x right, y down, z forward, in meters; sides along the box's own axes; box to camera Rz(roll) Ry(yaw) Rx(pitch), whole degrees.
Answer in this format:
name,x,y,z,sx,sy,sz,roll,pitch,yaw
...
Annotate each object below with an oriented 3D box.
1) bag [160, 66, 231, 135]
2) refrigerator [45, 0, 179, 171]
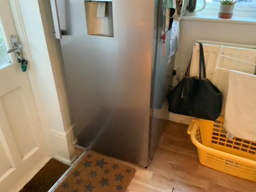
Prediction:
name,x,y,z,sx,sy,sz,roll,pitch,yaw
bag,0.520,0.020,1.670,0.440,0.360,0.300,13,33,22
refrigerator,-0.040,-0.480,1.400,0.600,1.850,0.670,11,32,20
